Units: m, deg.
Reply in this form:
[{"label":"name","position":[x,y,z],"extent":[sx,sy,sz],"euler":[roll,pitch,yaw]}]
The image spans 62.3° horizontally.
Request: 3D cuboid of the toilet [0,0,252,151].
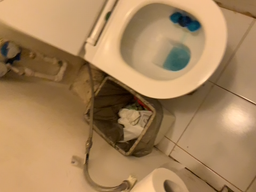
[{"label":"toilet","position":[-0.020,-0.220,0.750],"extent":[0.680,0.840,0.390],"euler":[35,99,27]}]
